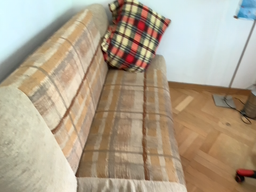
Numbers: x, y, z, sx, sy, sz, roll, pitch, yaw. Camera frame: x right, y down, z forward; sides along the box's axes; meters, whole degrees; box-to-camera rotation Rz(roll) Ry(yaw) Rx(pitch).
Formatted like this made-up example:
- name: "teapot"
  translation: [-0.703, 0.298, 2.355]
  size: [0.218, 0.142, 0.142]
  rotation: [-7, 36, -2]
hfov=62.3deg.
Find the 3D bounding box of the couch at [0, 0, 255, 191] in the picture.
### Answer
- name: "couch"
  translation: [-0.090, -0.010, 1.550]
  size: [0.880, 0.870, 1.890]
  rotation: [6, 34, -1]
